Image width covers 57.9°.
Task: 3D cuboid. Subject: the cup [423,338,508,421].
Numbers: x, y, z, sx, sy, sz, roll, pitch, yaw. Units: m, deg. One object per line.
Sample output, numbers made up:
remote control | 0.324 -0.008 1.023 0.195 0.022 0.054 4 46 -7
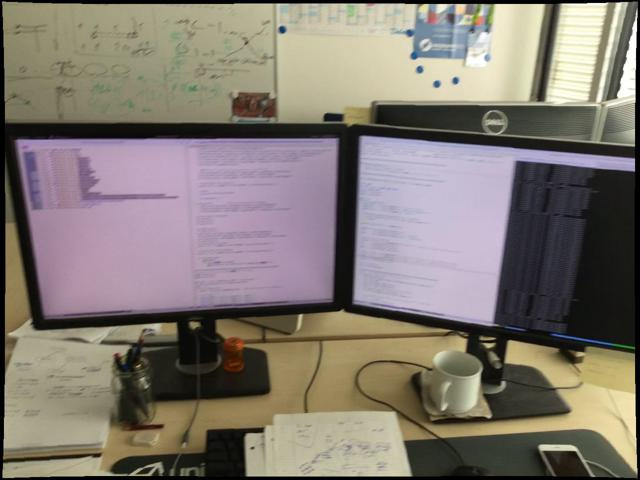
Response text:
cup | 0.270 0.260 1.090 0.110 0.090 0.120 -3 24 -9

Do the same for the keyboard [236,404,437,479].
keyboard | 0.020 0.360 0.900 0.290 0.050 0.220 -3 24 -9

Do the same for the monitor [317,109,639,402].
monitor | 0.310 0.020 1.030 0.609 0.440 0.130 7 24 13

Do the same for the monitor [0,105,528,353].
monitor | -0.080 -0.030 1.030 0.829 0.380 0.140 -3 24 -9
